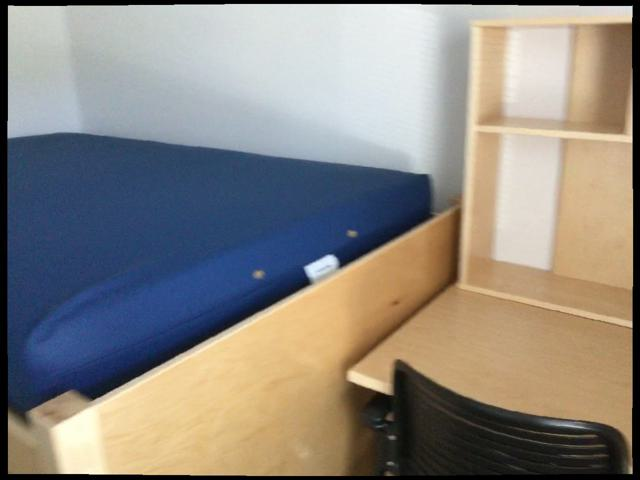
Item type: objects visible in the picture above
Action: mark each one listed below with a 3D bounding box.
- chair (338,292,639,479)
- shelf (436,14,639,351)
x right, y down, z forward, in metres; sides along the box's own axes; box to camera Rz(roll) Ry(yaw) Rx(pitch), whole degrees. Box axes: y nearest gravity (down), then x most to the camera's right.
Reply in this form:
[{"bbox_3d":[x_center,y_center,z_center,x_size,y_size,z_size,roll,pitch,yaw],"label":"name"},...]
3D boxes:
[{"bbox_3d":[0.409,0.661,1.330,0.589,0.861,0.450,13,24,33],"label":"chair"},{"bbox_3d":[0.978,-0.130,1.430,1.268,0.801,0.360,13,23,33],"label":"shelf"}]
